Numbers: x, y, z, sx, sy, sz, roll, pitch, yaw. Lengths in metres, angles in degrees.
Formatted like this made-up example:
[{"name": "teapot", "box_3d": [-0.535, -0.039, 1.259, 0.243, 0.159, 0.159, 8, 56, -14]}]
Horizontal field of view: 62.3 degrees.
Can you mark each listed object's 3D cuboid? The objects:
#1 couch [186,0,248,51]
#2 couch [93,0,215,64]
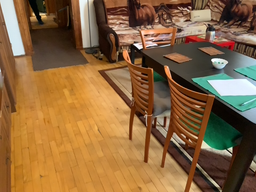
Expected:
[{"name": "couch", "box_3d": [1.990, -1.730, 4.800, 0.980, 0.950, 1.130, 13, 33, 19]}, {"name": "couch", "box_3d": [0.490, -1.400, 4.190, 2.090, 0.960, 0.910, -13, 34, -22]}]
